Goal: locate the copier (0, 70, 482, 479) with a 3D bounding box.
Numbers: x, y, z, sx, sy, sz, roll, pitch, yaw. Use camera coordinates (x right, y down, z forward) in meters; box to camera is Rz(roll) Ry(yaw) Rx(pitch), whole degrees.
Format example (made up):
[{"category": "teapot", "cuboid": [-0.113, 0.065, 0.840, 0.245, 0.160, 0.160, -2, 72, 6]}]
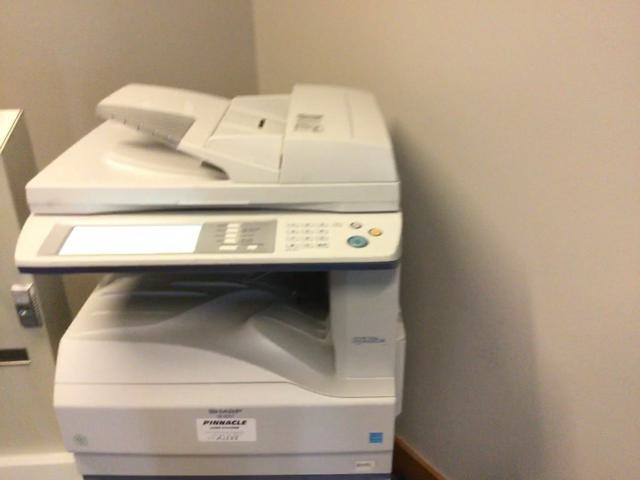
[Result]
[{"category": "copier", "cuboid": [-0.140, 0.250, 1.210, 0.730, 1.070, 0.770, 1, 24, 6]}]
